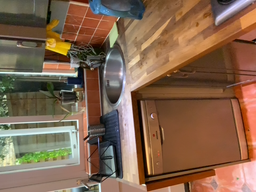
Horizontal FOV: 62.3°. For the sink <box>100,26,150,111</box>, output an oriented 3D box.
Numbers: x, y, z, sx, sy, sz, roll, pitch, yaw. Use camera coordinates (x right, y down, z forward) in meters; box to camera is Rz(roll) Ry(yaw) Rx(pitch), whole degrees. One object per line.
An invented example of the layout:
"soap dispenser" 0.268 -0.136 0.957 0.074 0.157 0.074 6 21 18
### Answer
"sink" -0.050 -0.170 1.610 0.480 0.170 0.500 154 114 -63
